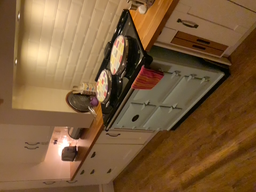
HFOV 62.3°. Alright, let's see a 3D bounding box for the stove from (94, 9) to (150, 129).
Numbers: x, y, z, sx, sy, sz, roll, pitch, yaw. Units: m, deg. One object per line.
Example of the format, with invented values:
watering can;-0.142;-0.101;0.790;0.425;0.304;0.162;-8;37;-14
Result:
stove;-0.130;-0.230;2.100;0.990;0.040;0.700;-57;36;42
